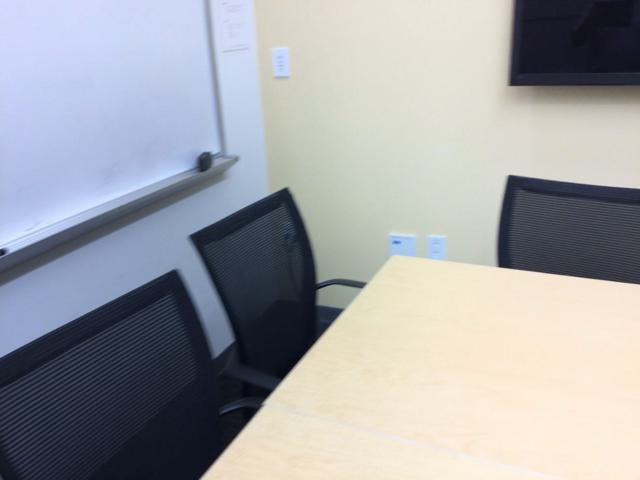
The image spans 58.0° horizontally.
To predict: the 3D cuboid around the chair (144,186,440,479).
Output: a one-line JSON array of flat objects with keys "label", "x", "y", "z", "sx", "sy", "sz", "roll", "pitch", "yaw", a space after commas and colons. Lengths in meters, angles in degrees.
[{"label": "chair", "x": -0.010, "y": 0.380, "z": 1.560, "sx": 0.540, "sy": 0.920, "sz": 0.550, "roll": 5, "pitch": 20, "yaw": 22}]
